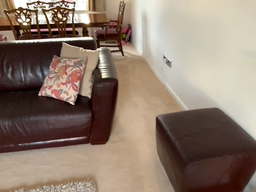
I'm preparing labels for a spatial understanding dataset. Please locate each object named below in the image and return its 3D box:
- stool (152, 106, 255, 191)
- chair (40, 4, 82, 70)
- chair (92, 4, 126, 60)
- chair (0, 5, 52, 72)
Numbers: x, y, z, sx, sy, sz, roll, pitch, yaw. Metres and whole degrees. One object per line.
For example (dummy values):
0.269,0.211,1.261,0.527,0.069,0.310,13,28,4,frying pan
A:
0.520,0.420,1.500,0.550,0.450,0.520,-5,28,-9,stool
-1.100,-1.020,3.640,0.480,0.970,0.570,-4,28,-6,chair
-0.370,-1.270,4.160,0.570,0.930,0.630,-5,28,-9,chair
-1.670,-0.980,3.570,0.480,0.970,0.590,-4,28,-6,chair
